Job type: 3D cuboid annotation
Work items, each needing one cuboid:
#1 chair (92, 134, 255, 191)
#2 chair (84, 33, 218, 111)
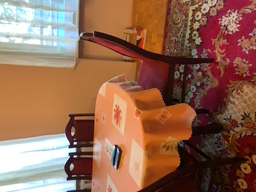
[{"bbox_3d":[0.300,0.550,1.360,0.450,0.940,0.360,31,118,60],"label":"chair"},{"bbox_3d":[0.170,-0.180,1.620,0.400,0.910,0.460,23,112,61],"label":"chair"}]
